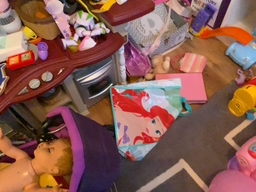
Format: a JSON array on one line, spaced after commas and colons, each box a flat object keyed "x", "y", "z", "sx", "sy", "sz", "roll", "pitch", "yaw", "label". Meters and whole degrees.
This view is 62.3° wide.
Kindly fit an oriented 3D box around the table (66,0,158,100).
[{"x": -0.100, "y": -0.330, "z": 1.070, "sx": 0.180, "sy": 0.550, "sz": 0.490, "roll": -32, "pitch": 64, "yaw": -16, "label": "table"}]
